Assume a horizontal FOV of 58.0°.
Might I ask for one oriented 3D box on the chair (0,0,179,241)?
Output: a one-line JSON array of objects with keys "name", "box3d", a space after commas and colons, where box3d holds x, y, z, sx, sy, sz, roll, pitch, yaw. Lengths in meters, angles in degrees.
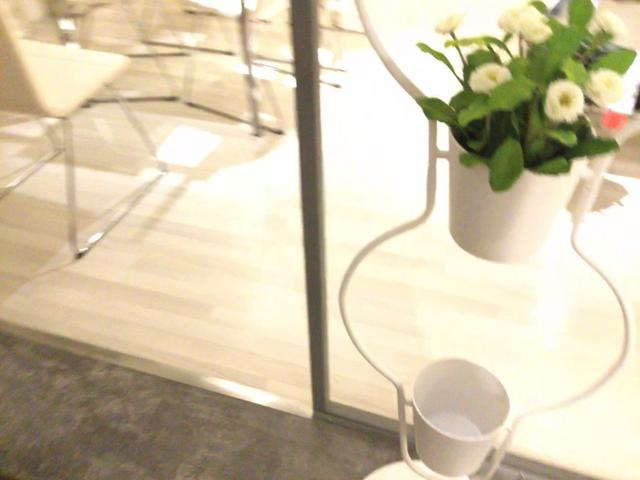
[{"name": "chair", "box3d": [-0.860, -0.470, 1.810, 0.510, 0.690, 0.520, 11, 41, 16]}]
